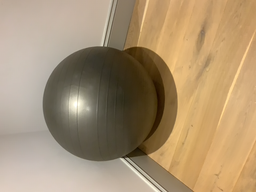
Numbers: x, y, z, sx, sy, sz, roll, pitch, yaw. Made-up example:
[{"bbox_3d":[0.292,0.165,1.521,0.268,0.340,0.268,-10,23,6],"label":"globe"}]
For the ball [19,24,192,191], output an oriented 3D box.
[{"bbox_3d":[-0.160,0.020,1.280,0.640,0.670,0.660,28,109,42],"label":"ball"}]
